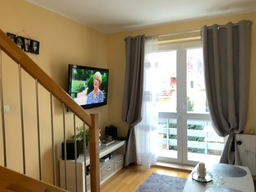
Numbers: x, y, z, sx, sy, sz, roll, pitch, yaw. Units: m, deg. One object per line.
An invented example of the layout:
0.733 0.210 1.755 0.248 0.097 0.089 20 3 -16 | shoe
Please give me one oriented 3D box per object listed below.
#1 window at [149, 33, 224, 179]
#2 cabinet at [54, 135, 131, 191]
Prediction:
1.040 0.170 3.840 1.260 2.410 0.230 0 3 23 | window
-0.500 1.100 3.590 0.520 0.500 1.480 0 3 26 | cabinet
